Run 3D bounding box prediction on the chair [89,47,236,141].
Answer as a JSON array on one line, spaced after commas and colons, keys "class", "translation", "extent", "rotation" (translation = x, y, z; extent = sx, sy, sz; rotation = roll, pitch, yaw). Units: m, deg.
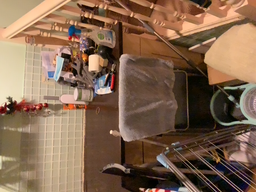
[{"class": "chair", "translation": [0.250, 0.030, 1.480], "extent": [0.450, 0.920, 0.470], "rotation": [-11, 78, 59]}]
